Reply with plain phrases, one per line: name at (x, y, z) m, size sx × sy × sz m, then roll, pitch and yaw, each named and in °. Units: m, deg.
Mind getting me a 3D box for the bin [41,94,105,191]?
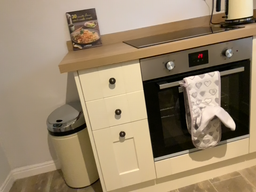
bin at (-0.380, 0.330, 1.580) m, size 0.290 × 0.560 × 0.330 m, roll -12°, pitch 20°, yaw -7°
